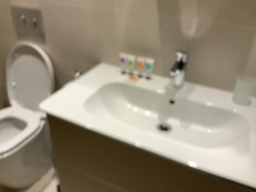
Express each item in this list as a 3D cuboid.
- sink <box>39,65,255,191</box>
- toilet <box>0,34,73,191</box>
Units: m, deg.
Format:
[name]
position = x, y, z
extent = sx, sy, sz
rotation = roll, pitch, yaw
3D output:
[sink]
position = 0.140, 0.100, 0.850
extent = 0.840, 0.140, 0.440
rotation = 15, 34, 20
[toilet]
position = -0.700, 0.140, 1.280
extent = 0.400, 0.850, 0.510
rotation = 15, 34, 20
